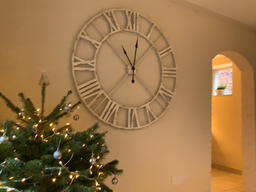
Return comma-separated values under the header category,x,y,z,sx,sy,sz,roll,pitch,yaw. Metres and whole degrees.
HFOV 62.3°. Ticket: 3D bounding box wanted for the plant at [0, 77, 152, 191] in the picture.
category,x,y,z,sx,sy,sz,roll,pitch,yaw
plant,-0.530,0.600,1.340,0.980,1.280,0.900,4,-5,-30
